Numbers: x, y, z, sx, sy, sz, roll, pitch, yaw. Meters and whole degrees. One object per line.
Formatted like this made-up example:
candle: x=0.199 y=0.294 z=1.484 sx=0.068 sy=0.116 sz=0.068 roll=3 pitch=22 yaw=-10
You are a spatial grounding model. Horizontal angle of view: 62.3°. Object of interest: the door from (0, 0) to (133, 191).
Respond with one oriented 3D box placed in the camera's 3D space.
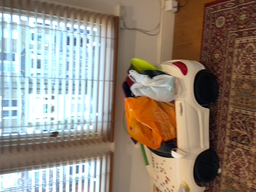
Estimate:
door: x=-0.800 y=0.370 z=1.360 sx=0.070 sy=1.750 sz=1.920 roll=13 pitch=101 yaw=60
